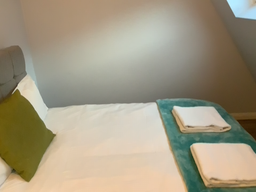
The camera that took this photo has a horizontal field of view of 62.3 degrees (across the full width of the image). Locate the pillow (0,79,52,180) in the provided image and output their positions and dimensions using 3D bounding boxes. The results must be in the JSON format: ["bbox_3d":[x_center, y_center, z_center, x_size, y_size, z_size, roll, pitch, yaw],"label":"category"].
[{"bbox_3d":[-0.750,0.240,1.520,0.120,0.450,0.550,-10,48,6],"label":"pillow"}]

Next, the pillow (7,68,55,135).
[{"bbox_3d":[-0.870,0.050,1.970,0.140,0.390,0.460,-11,49,6],"label":"pillow"}]
